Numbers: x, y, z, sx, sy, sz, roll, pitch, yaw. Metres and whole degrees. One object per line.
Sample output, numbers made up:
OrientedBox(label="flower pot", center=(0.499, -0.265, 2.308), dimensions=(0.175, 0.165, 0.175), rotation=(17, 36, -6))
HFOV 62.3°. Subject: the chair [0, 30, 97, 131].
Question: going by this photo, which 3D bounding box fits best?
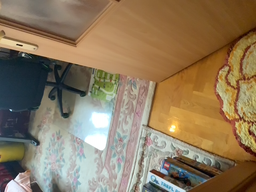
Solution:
OrientedBox(label="chair", center=(-1.150, -0.200, 2.020), dimensions=(0.930, 1.240, 0.670), rotation=(32, 106, 39))
